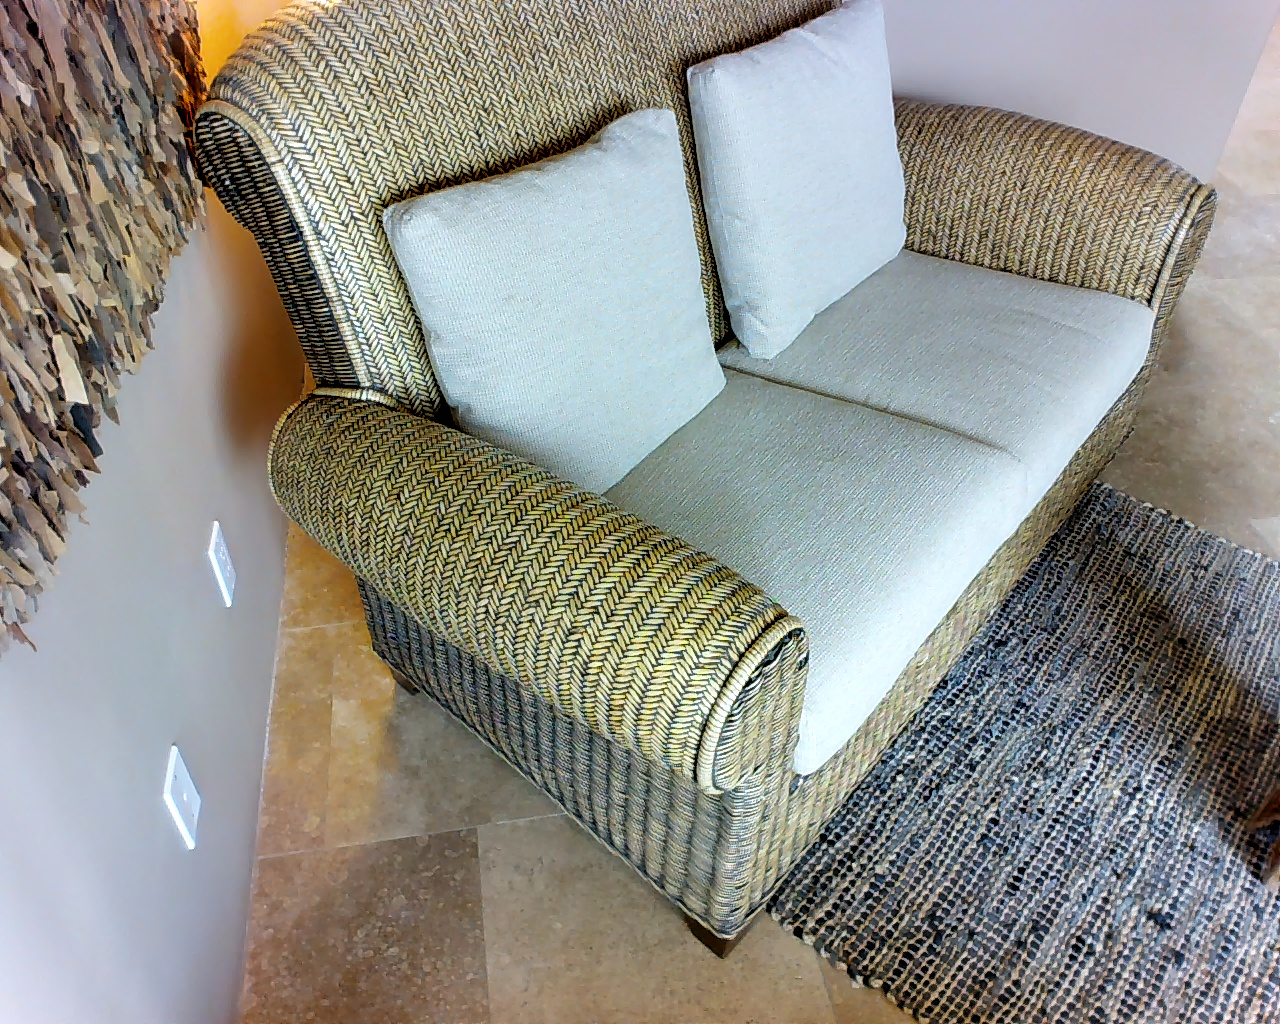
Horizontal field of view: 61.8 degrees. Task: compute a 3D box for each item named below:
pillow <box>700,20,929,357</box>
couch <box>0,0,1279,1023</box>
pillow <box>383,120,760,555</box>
[{"bbox_3d":[0.330,-0.580,1.910,0.160,0.500,0.550,10,23,34],"label":"pillow"},{"bbox_3d":[0.210,-0.300,1.730,1.030,1.050,1.650,29,49,27],"label":"couch"},{"bbox_3d":[-0.060,-0.280,1.550,0.190,0.490,0.530,15,30,37],"label":"pillow"}]
